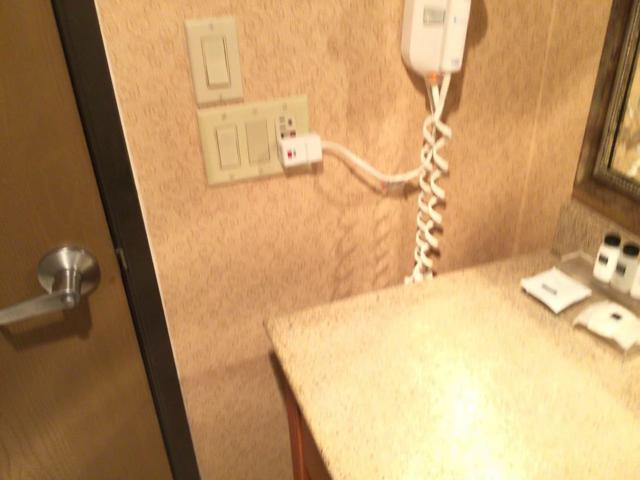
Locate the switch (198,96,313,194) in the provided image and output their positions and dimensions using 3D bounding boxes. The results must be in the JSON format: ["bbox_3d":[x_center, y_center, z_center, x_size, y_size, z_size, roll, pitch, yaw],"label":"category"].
[{"bbox_3d":[-0.090,-0.140,0.850,0.160,0.120,0.020,-12,33,-17],"label":"switch"}]

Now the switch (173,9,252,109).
[{"bbox_3d":[-0.140,-0.240,0.770,0.090,0.120,0.010,-12,33,-17],"label":"switch"}]

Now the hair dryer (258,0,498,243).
[{"bbox_3d":[0.080,-0.220,0.820,0.300,0.400,0.100,-12,33,-17],"label":"hair dryer"}]
